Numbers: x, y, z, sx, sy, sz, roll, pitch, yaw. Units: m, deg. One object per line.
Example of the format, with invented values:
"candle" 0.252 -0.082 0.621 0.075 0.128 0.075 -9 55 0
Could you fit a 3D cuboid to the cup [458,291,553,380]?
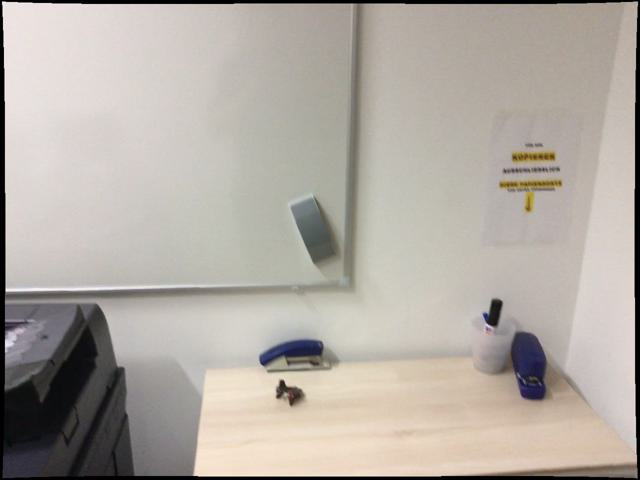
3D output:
"cup" 0.430 0.220 1.360 0.150 0.150 0.140 -1 20 -8
